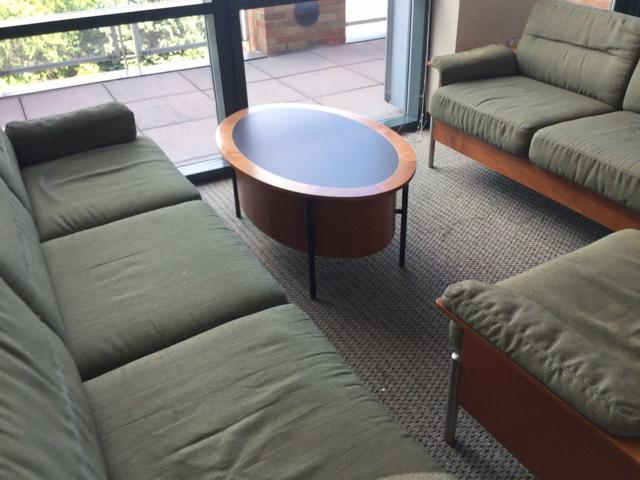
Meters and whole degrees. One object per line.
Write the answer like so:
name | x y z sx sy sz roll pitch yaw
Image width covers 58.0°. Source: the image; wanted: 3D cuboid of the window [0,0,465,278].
window | -0.420 -0.980 2.630 2.350 1.570 0.440 -21 35 -20
